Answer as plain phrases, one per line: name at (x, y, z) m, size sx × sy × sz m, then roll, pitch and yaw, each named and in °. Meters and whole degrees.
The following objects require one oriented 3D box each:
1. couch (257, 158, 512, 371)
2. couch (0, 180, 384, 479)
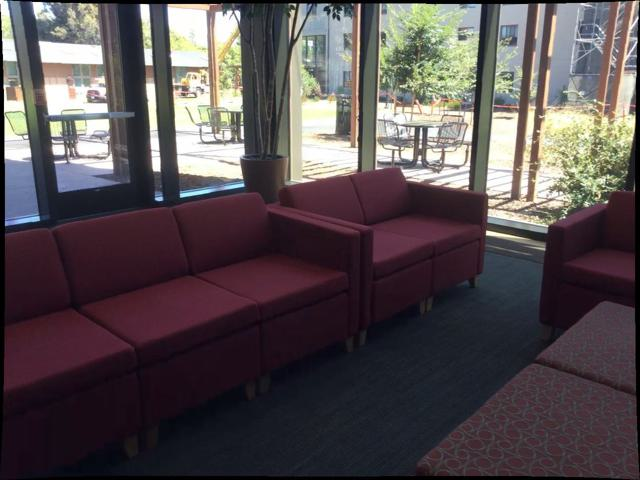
couch at (0.409, 0.040, 3.530) m, size 1.349 × 0.771 × 0.829 m, roll -18°, pitch 28°, yaw -41°
couch at (-0.729, 0.381, 2.530) m, size 2.098 × 0.811 × 0.809 m, roll -18°, pitch 28°, yaw -41°
